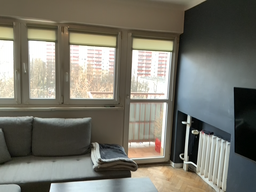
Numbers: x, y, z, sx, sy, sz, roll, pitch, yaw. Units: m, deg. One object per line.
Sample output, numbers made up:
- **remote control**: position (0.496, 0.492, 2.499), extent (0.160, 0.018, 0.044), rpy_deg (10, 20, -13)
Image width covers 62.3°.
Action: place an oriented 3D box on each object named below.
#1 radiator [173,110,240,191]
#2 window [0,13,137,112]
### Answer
- **radiator**: position (0.970, 0.780, 2.880), extent (0.170, 0.970, 1.130), rpy_deg (1, 8, -13)
- **window**: position (-0.980, -0.400, 2.870), extent (2.210, 1.220, 0.100), rpy_deg (1, 8, -16)
